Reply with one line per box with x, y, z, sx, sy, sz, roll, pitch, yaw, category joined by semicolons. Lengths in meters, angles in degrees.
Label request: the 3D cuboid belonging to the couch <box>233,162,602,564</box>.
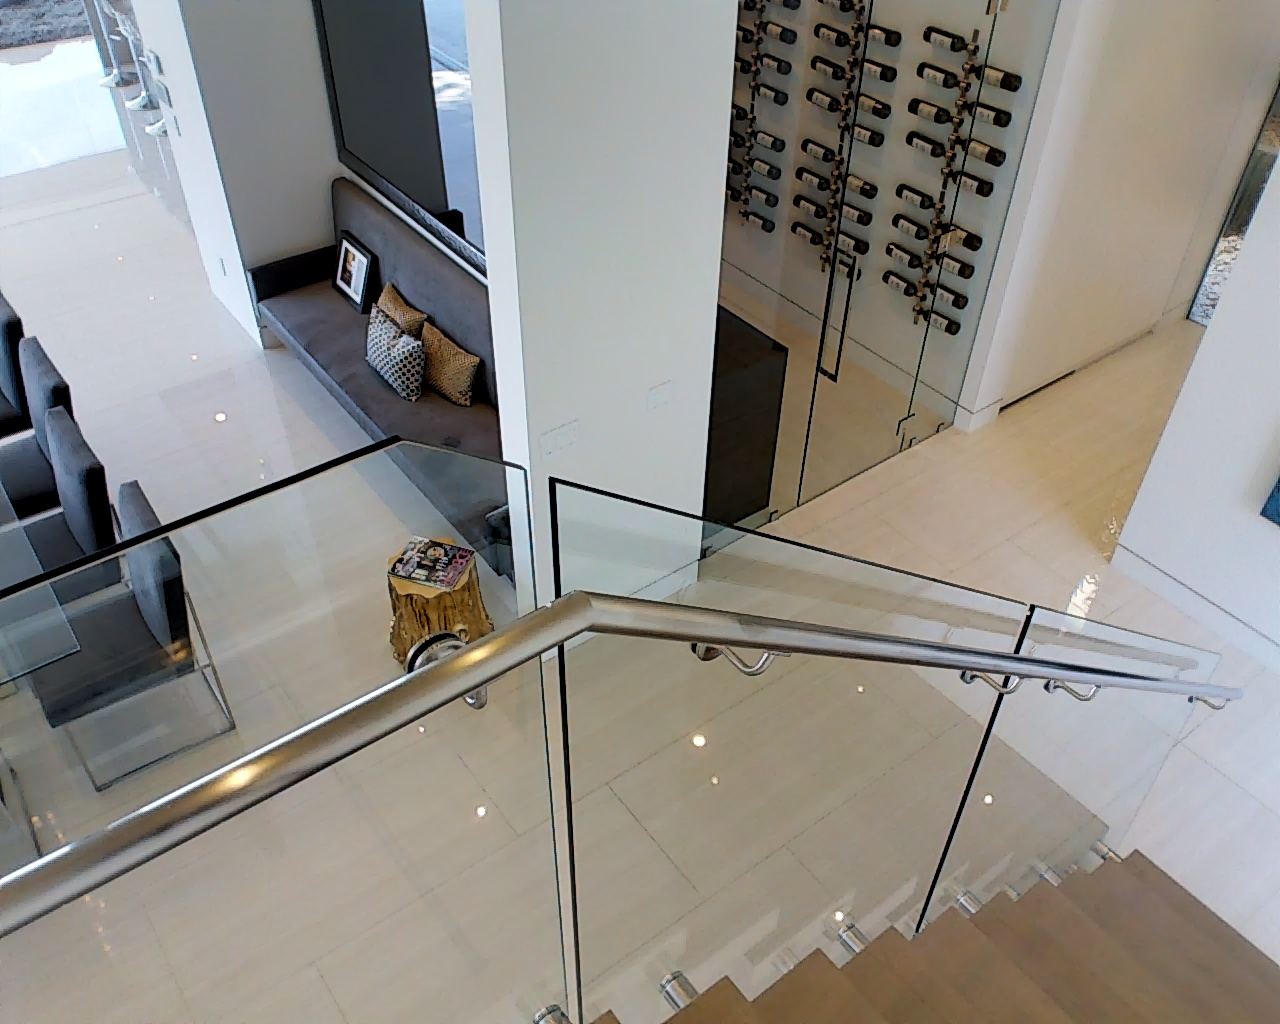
-1.170;-0.860;5.440;0.700;0.890;2.360;-26;48;-27;couch

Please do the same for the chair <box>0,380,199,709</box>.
-2.360;0.130;4.350;0.680;0.980;0.620;-26;48;-27;chair

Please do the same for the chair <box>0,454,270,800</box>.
-1.950;0.430;4.040;0.710;0.960;0.560;-26;48;-27;chair
